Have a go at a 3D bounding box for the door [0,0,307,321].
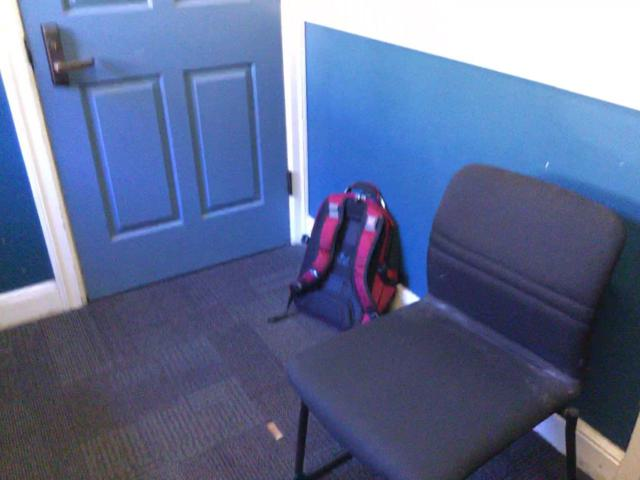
[{"bbox_3d":[-0.540,-0.650,2.020,1.050,1.810,0.110,-15,30,-27],"label":"door"}]
